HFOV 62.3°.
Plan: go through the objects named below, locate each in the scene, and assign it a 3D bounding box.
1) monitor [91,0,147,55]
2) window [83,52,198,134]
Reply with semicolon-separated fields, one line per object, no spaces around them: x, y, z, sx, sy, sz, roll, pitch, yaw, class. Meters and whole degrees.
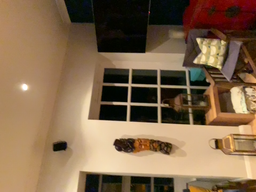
-0.100;-1.080;2.720;1.320;0.670;0.070;84;-172;-49;monitor
0.180;-0.060;3.140;0.320;1.500;1.130;91;-179;-65;window
